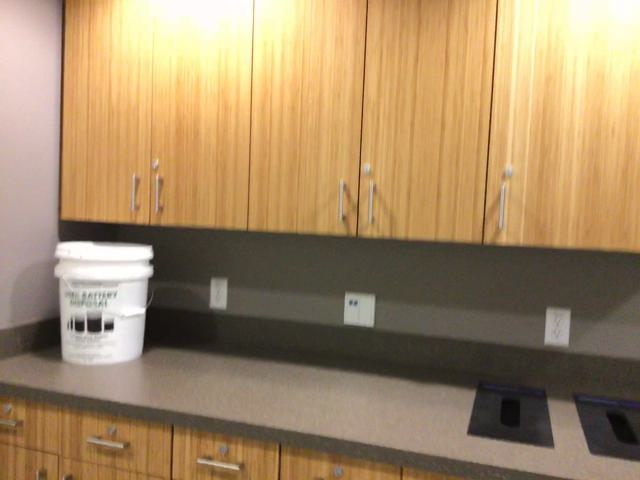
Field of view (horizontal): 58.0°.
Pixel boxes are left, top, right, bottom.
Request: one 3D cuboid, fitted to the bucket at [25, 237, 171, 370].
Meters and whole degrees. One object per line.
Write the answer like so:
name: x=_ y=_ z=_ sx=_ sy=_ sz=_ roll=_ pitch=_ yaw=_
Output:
bucket: x=-0.750 y=0.200 z=1.980 sx=0.330 sy=0.380 sz=0.280 roll=7 pitch=1 yaw=18
